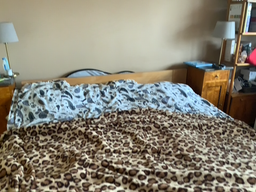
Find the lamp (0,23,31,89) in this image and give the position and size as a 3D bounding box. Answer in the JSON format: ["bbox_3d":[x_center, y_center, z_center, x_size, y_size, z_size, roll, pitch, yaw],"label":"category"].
[{"bbox_3d":[-1.180,-0.380,2.030,0.360,0.590,0.210,-5,21,-15],"label":"lamp"}]
